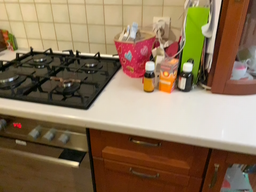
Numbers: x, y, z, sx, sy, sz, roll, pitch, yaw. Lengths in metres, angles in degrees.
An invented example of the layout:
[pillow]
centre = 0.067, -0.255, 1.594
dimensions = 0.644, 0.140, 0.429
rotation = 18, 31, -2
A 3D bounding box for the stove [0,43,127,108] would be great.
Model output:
[stove]
centre = -0.360, -0.140, 1.000
dimensions = 0.590, 0.030, 0.550
rotation = 7, 31, 12

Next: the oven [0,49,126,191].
[oven]
centre = -0.370, 0.260, 1.210
dimensions = 0.590, 0.860, 0.580
rotation = 7, 31, 12
